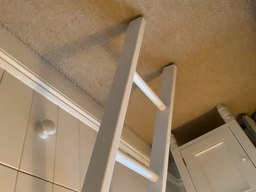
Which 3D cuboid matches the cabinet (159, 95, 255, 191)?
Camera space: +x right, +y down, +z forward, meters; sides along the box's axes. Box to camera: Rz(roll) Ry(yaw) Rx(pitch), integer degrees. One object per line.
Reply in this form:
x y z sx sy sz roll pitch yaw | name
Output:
0.520 0.440 1.070 0.390 0.700 0.400 -32 133 15 | cabinet
